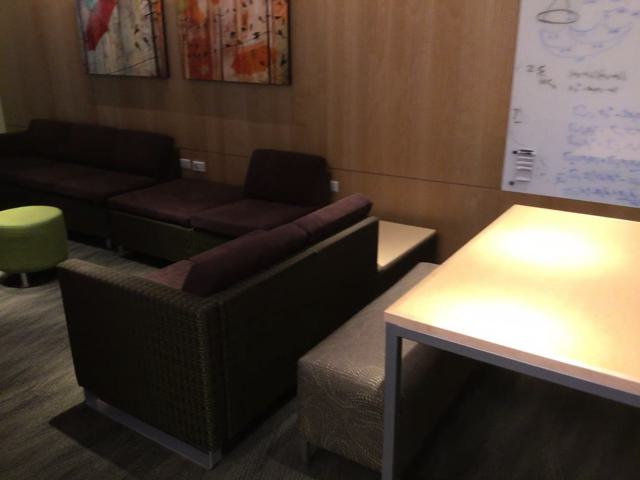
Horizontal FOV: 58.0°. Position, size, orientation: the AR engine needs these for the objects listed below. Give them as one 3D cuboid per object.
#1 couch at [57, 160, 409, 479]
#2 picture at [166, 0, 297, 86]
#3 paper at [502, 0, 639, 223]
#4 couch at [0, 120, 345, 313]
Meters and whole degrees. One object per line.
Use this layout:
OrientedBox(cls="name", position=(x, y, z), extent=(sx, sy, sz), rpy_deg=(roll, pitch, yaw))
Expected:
OrientedBox(cls="couch", position=(-0.240, 0.200, 2.550), extent=(0.750, 0.770, 1.410), rpy_deg=(11, 23, 28))
OrientedBox(cls="picture", position=(-0.590, -1.350, 3.780), extent=(0.940, 0.620, 0.130), rpy_deg=(11, 23, 28))
OrientedBox(cls="paper", position=(1.410, -0.800, 2.700), extent=(0.930, 1.410, 0.150), rpy_deg=(11, 23, 28))
OrientedBox(cls="couch", position=(-1.340, -0.320, 4.140), extent=(2.990, 0.770, 0.820), rpy_deg=(11, 23, 28))
